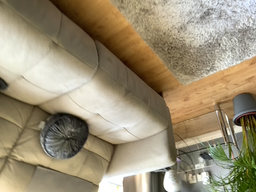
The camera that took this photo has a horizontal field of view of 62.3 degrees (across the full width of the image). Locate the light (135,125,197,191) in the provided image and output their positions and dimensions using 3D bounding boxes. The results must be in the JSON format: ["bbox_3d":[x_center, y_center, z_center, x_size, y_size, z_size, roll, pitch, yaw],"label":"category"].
[{"bbox_3d":[0.450,0.950,2.680,0.460,0.940,0.550,26,136,-31],"label":"light"}]
